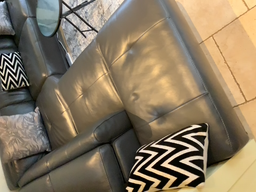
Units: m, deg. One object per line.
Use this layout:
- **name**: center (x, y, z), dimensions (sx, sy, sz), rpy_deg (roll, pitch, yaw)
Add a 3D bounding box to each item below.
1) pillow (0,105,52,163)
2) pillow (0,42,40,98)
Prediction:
- **pillow**: center (-1.070, 0.370, 2.140), dimensions (0.120, 0.380, 0.430), rpy_deg (-33, 92, 42)
- **pillow**: center (-1.310, -0.300, 2.380), dimensions (0.160, 0.290, 0.560), rpy_deg (-34, 93, 42)
